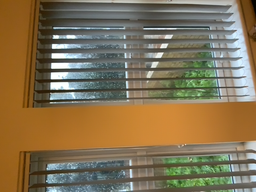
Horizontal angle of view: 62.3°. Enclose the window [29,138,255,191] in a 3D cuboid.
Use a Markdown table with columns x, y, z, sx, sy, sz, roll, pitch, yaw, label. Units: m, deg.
| x | y | z | sx | sy | sz | roll | pitch | yaw | label |
| --- | --- | --- | --- | --- | --- | --- | --- | --- | --- |
| 0.180 | 0.760 | 1.540 | 0.080 | 1.720 | 0.830 | 107 | 161 | -74 | window |
